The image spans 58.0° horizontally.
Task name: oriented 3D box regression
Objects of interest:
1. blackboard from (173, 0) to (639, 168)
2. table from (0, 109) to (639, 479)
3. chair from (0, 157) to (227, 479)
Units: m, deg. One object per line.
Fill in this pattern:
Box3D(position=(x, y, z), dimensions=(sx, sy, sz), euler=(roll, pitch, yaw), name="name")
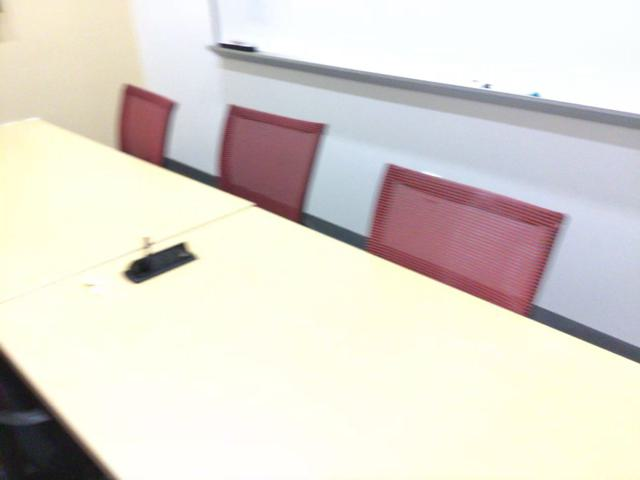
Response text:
Box3D(position=(0.380, -0.910, 2.070), dimensions=(0.260, 0.900, 3.270), euler=(-22, 32, -36), name="blackboard")
Box3D(position=(-0.460, 0.310, 1.600), dimensions=(0.860, 0.760, 2.990), euler=(-26, 34, -38), name="table")
Box3D(position=(-0.660, 0.350, 1.390), dimensions=(0.600, 0.890, 0.550), euler=(-22, 32, -36), name="chair")
